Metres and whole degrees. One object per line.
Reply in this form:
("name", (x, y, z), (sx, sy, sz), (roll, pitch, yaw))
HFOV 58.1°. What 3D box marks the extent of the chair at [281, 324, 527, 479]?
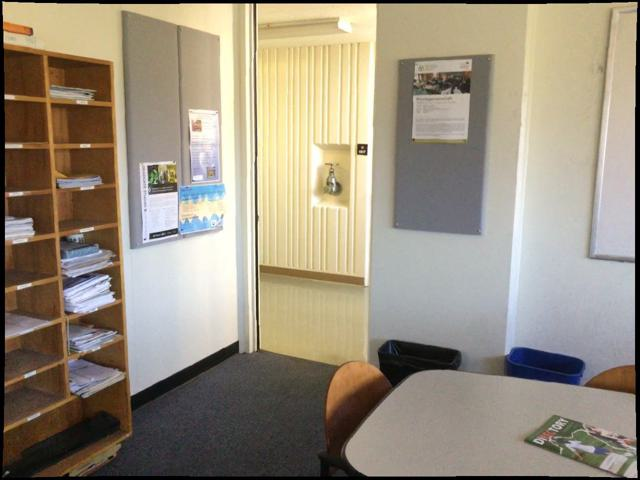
("chair", (0.289, 0.782, 1.850), (0.579, 0.802, 0.570), (5, 13, 29))
